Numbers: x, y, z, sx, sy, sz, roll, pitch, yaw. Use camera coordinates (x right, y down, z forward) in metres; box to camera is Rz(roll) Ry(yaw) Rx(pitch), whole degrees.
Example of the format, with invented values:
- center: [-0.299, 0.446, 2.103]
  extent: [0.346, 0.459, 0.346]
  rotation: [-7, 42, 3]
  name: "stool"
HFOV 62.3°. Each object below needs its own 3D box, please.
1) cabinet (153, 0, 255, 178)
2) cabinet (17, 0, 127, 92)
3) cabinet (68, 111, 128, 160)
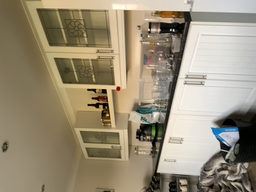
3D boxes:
- center: [0.850, 0.170, 2.530]
  extent: [2.570, 0.880, 0.600]
  rotation: [90, -176, -49]
  name: "cabinet"
- center: [-0.440, -0.520, 2.100]
  extent: [1.060, 0.830, 0.290]
  rotation: [90, -176, -49]
  name: "cabinet"
- center: [-0.430, 0.680, 3.490]
  extent: [1.000, 0.830, 0.290]
  rotation: [90, -176, -49]
  name: "cabinet"
